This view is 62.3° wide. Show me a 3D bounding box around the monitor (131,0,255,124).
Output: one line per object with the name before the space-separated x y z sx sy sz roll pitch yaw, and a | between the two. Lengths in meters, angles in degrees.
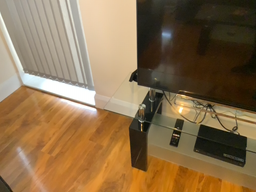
monitor | 0.470 -0.160 1.020 0.960 0.600 0.070 15 43 20

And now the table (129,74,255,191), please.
table | 0.510 0.260 1.360 0.930 0.490 0.360 15 43 20
